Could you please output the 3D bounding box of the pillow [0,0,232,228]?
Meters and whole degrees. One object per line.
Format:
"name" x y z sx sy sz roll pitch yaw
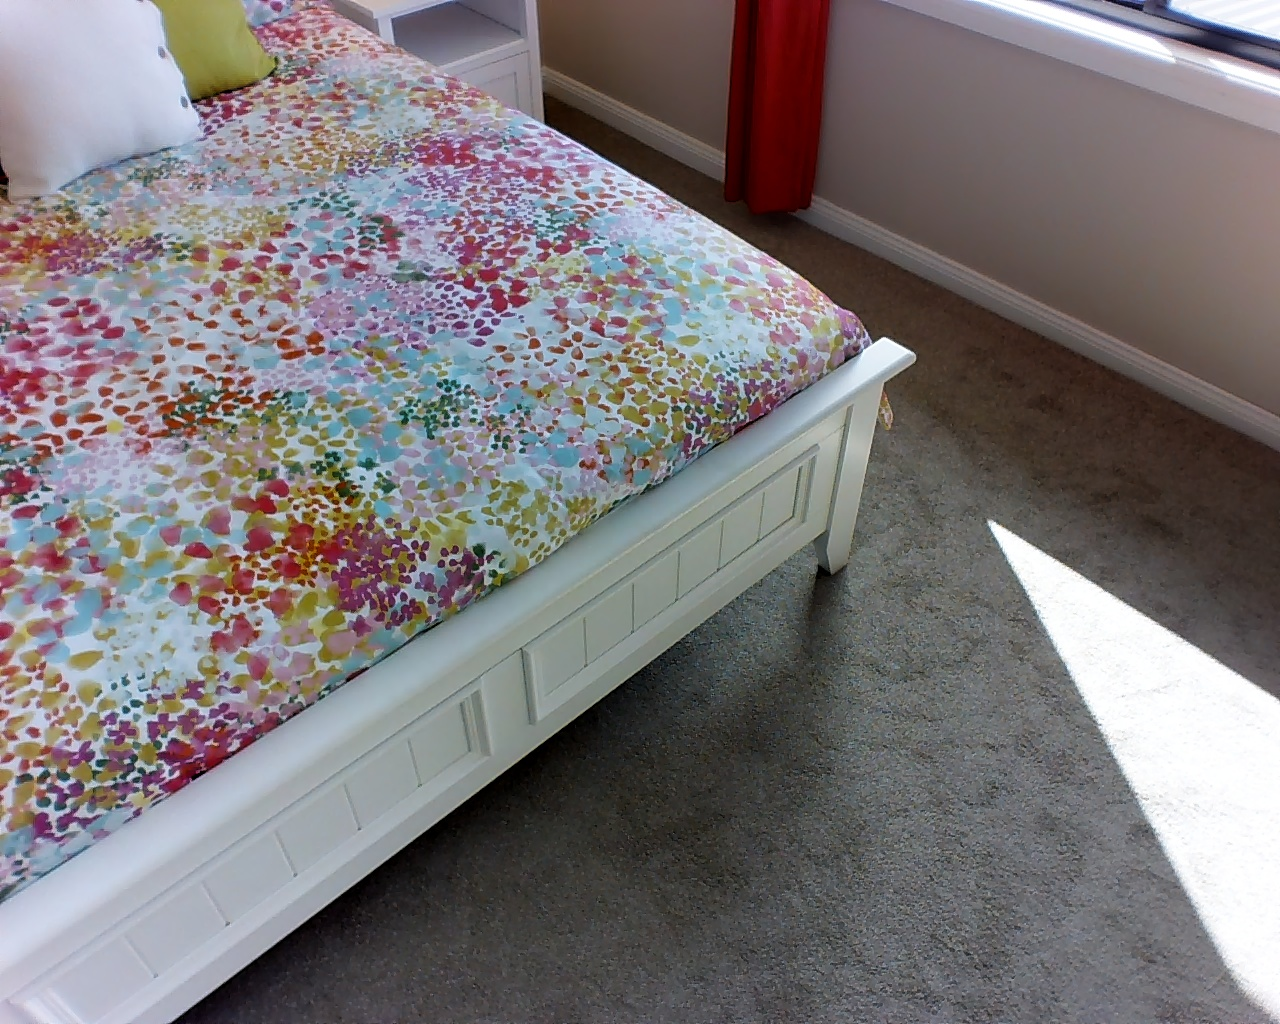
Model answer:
"pillow" -1.000 -0.790 1.890 0.420 0.380 0.230 -33 69 -29

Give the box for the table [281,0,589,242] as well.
"table" -0.560 -1.240 3.030 0.620 0.600 0.520 -33 53 -29

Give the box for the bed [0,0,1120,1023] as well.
"bed" -0.870 -0.470 1.830 1.940 1.240 2.290 -32 53 -29
